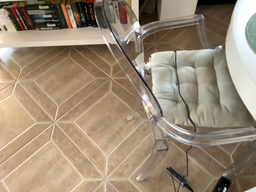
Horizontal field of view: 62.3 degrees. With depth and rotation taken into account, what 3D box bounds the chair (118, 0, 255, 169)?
[{"bbox_3d":[0.240,0.010,0.960,0.480,0.800,0.390,2,56,4],"label":"chair"}]
